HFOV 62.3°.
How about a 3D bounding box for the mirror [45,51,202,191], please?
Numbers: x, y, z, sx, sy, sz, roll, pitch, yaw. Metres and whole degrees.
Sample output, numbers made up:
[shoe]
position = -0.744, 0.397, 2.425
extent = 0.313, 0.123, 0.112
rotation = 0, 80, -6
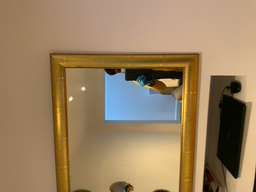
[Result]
[mirror]
position = -0.030, 0.280, 1.060
extent = 0.050, 0.700, 0.980
rotation = -79, -10, -79
